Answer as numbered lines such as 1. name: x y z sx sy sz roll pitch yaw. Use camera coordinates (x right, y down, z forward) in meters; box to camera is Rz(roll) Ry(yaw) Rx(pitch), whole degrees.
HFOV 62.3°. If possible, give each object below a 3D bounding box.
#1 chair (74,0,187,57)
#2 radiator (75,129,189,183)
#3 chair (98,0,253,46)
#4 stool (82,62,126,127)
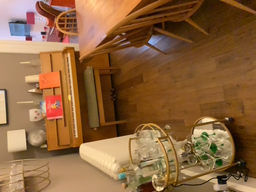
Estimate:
1. chair: 0.020 -0.680 1.920 0.450 0.870 0.530 -10 84 63
2. radiator: -0.050 0.560 2.300 1.160 0.780 0.230 -9 85 63
3. chair: 0.290 -0.670 1.380 0.450 0.870 0.530 -10 84 63
4. stool: -0.380 -0.020 3.280 0.370 0.470 0.930 -24 72 62
